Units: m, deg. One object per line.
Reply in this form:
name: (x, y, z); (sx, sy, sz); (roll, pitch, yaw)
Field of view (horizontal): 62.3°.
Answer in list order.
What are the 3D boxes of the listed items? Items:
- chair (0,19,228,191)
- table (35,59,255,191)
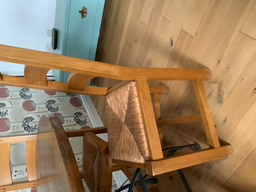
chair: (-0.110, 0.050, 1.010); (0.480, 1.010, 0.540); (-18, 77, 60)
table: (0.030, 0.630, 1.070); (1.170, 0.780, 1.180); (55, 138, 43)
